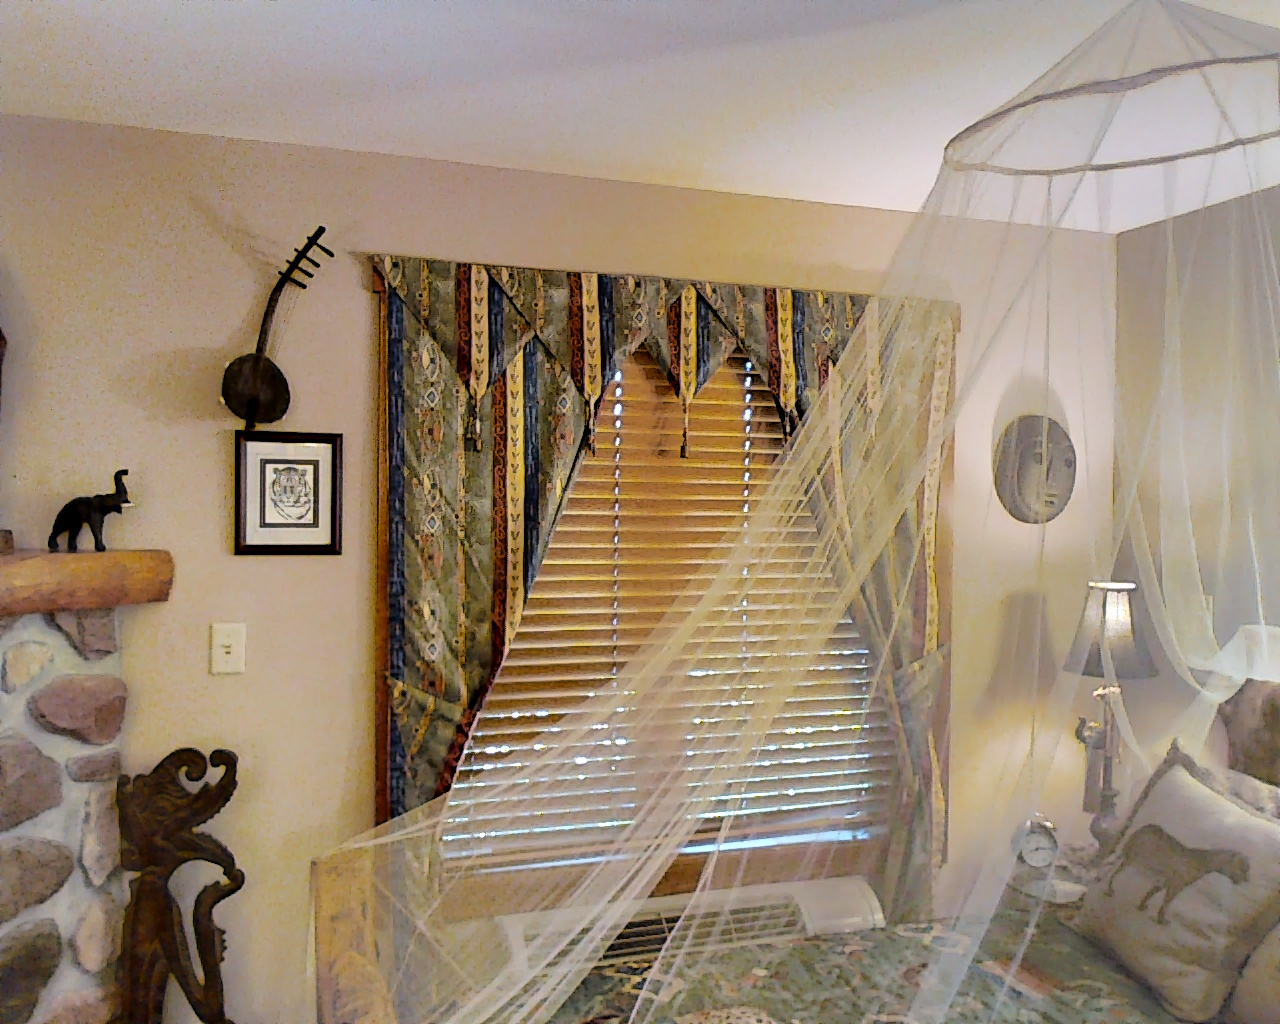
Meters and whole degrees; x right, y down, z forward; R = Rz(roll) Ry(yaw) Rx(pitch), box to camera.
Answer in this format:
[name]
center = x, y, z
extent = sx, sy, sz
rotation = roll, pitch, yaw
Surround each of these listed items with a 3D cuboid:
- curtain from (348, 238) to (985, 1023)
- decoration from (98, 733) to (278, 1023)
[curtain]
center = 0.120, 0.450, 2.830
extent = 1.670, 2.120, 0.200
rotation = 1, 0, -19
[decoration]
center = -1.030, 1.010, 2.470
extent = 0.360, 0.960, 0.140
rotation = 1, 0, -19
